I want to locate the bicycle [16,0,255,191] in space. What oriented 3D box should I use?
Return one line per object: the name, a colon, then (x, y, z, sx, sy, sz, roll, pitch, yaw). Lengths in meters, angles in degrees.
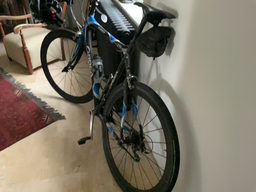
bicycle: (-0.310, -0.140, 1.540, 0.590, 1.080, 1.920, -16, 39, -22)
